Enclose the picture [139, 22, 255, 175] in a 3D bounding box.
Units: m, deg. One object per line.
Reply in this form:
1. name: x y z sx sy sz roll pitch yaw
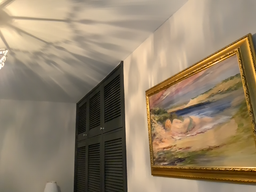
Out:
1. picture: 0.330 0.100 1.230 0.040 0.640 0.890 6 -18 -28
